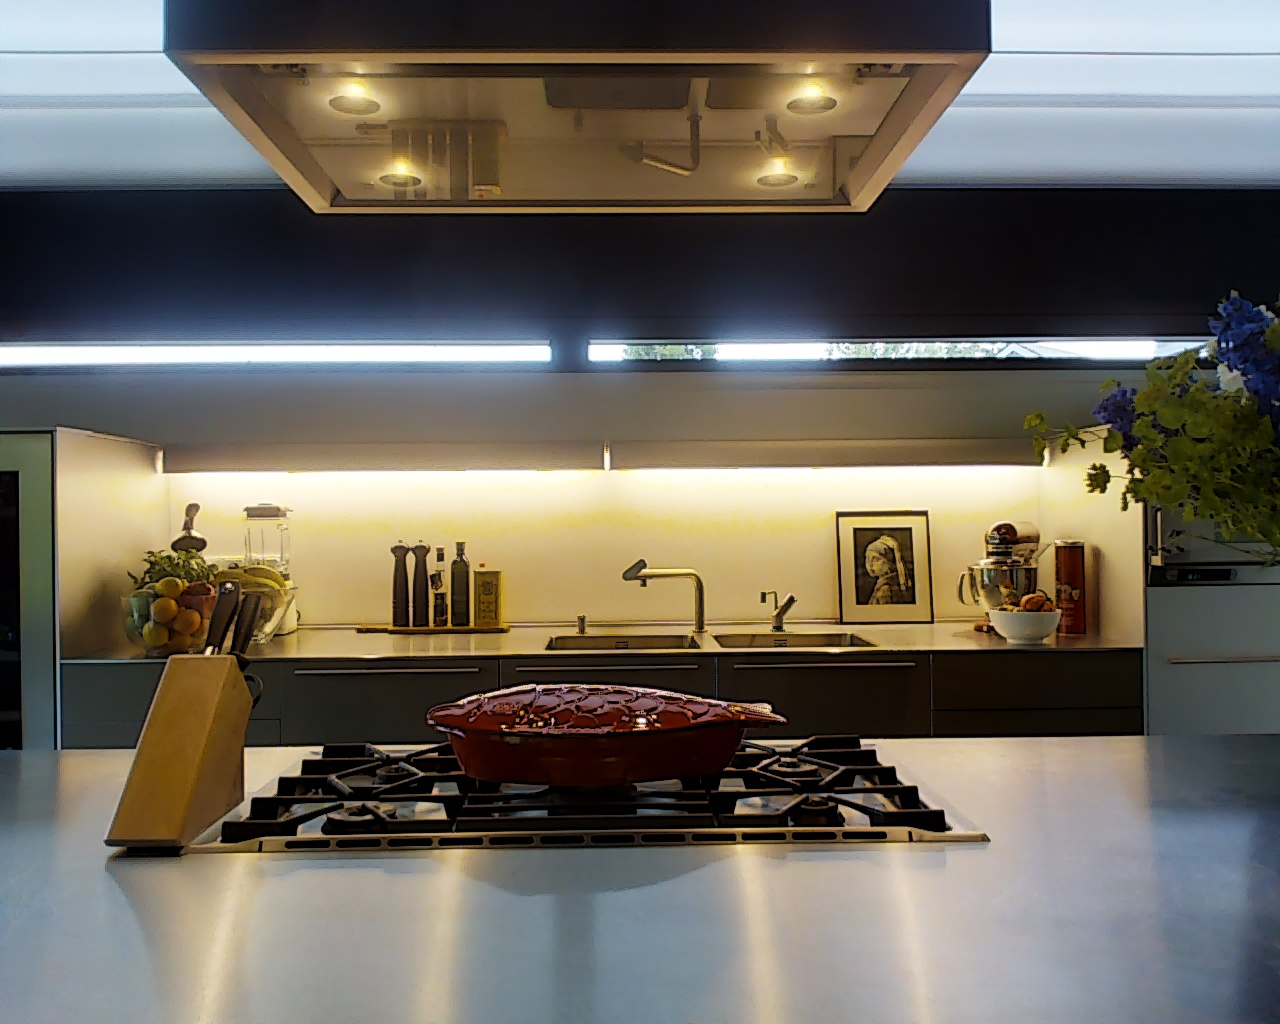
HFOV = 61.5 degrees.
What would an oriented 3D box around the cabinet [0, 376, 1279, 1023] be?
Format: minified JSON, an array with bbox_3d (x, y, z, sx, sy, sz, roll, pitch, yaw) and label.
[{"bbox_3d":[-0.380,0.500,3.300,4.919,1.700,0.850,0,0,-1],"label":"cabinet"}]

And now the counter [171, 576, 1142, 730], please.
[{"bbox_3d":[0.050,0.410,3.360,2.690,0.360,0.760,0,0,-1],"label":"counter"}]

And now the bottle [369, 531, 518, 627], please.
[{"bbox_3d":[-0.650,0.220,3.590,0.470,0.310,0.140,0,0,-1],"label":"bottle"}]
